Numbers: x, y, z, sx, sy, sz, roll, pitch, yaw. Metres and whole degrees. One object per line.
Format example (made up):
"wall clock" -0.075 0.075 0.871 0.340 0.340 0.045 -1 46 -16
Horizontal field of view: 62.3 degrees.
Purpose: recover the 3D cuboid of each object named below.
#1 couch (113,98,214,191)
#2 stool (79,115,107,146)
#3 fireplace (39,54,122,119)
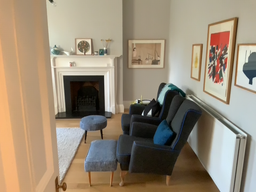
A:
"couch" 0.350 0.570 2.520 0.980 0.940 0.690 0 13 1
"stool" -0.580 0.580 3.640 0.410 0.390 0.400 0 13 -1
"fireplace" -1.000 -0.270 5.020 1.720 1.400 0.930 0 13 -1
